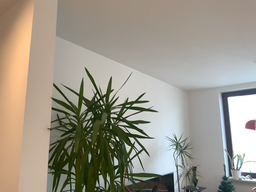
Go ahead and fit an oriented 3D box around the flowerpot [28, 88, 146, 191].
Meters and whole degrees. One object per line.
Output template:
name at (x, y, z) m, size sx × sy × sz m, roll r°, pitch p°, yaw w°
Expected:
flowerpot at (-0.320, 0.800, 1.770) m, size 0.660 × 1.550 × 0.710 m, roll -8°, pitch -14°, yaw 36°
